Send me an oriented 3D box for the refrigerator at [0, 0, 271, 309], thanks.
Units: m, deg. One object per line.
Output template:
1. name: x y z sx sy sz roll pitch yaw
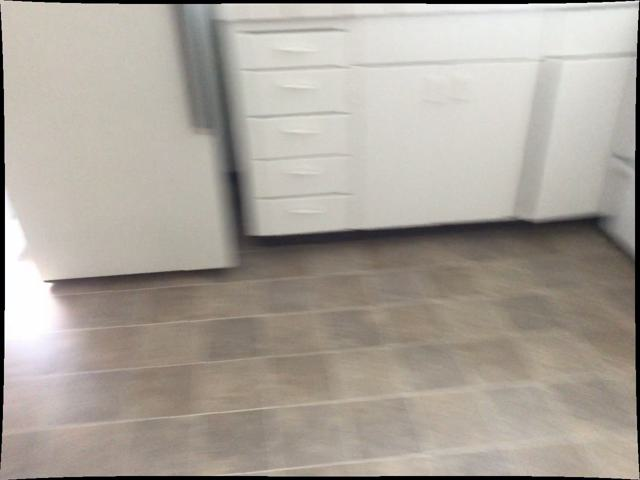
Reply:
1. refrigerator: -0.709 -0.671 1.900 0.939 1.592 0.740 -6 35 -8
